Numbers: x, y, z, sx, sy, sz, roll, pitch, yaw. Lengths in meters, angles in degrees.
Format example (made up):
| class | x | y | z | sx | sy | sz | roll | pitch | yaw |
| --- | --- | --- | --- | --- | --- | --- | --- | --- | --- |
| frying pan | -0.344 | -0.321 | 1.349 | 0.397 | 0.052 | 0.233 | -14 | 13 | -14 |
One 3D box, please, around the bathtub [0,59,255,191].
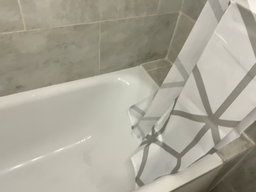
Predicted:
| class | x | y | z | sx | sy | sz | roll | pitch | yaw |
| --- | --- | --- | --- | --- | --- | --- | --- | --- | --- |
| bathtub | -0.360 | 0.400 | 0.960 | 1.630 | 0.550 | 0.700 | -16 | 49 | -24 |
